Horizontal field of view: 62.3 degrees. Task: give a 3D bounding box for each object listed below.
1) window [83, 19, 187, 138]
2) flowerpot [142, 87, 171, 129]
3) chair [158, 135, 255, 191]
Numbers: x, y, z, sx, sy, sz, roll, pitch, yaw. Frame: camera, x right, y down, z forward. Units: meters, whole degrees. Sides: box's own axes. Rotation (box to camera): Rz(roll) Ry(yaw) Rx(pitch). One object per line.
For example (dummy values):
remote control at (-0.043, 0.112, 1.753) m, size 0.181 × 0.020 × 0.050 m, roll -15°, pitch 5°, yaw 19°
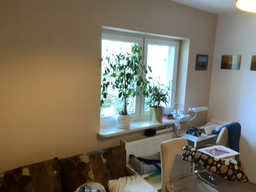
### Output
window at (0.160, -0.230, 2.970) m, size 1.560 × 1.350 × 0.270 m, roll -4°, pitch 12°, yaw -36°
flowerpot at (0.390, 0.150, 2.950) m, size 0.240 × 0.520 × 0.290 m, roll -3°, pitch 11°, yaw -32°
chair at (0.700, 0.960, 2.050) m, size 0.480 × 0.910 × 0.670 m, roll -4°, pitch 12°, yaw -37°
